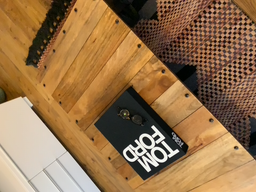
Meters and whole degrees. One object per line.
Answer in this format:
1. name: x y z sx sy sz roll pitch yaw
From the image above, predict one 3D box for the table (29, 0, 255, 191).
1. table: 0.130 0.140 1.160 1.310 0.330 0.660 48 123 4
